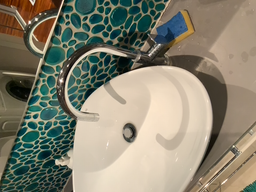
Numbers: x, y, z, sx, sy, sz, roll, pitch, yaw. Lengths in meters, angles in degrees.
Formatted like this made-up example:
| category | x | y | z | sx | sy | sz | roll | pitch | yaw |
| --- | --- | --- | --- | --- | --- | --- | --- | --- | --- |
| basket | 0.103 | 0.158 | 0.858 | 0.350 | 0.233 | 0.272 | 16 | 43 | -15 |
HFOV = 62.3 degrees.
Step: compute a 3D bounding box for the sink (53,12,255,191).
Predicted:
| category | x | y | z | sx | sy | sz | roll | pitch | yaw |
| --- | --- | --- | --- | --- | --- | --- | --- | --- | --- |
| sink | 0.010 | 0.140 | 0.620 | 0.380 | 0.130 | 0.610 | 49 | 119 | 33 |
